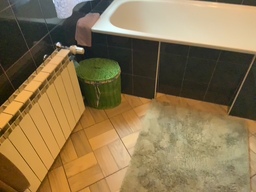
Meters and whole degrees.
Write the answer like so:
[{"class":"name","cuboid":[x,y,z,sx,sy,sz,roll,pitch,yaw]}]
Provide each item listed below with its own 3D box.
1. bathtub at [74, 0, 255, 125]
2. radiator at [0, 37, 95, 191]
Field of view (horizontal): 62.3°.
[{"class":"bathtub","cuboid":[0.570,-0.370,1.820,1.780,0.640,0.740,12,47,13]},{"class":"radiator","cuboid":[-0.530,0.120,1.400,0.210,0.640,0.820,13,48,14]}]
